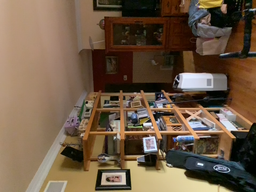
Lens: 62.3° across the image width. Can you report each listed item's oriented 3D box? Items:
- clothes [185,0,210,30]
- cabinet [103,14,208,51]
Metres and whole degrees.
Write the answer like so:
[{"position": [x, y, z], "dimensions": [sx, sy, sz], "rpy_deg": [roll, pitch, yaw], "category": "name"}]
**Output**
[{"position": [0.960, -1.220, 2.960], "dimensions": [0.460, 0.170, 0.450], "rpy_deg": [140, 130, -86], "category": "clothes"}, {"position": [0.480, -1.210, 4.060], "dimensions": [0.530, 1.850, 0.620], "rpy_deg": [-98, 9, -71], "category": "cabinet"}]
